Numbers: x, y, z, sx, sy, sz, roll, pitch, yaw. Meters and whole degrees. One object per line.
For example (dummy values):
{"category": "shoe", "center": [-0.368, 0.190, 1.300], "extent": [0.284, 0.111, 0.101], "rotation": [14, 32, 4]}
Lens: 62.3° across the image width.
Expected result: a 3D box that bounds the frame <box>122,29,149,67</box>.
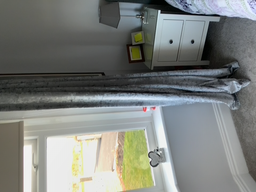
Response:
{"category": "frame", "center": [0.070, -0.510, 2.260], "extent": [0.180, 0.170, 0.340], "rotation": [-123, 43, -61]}
